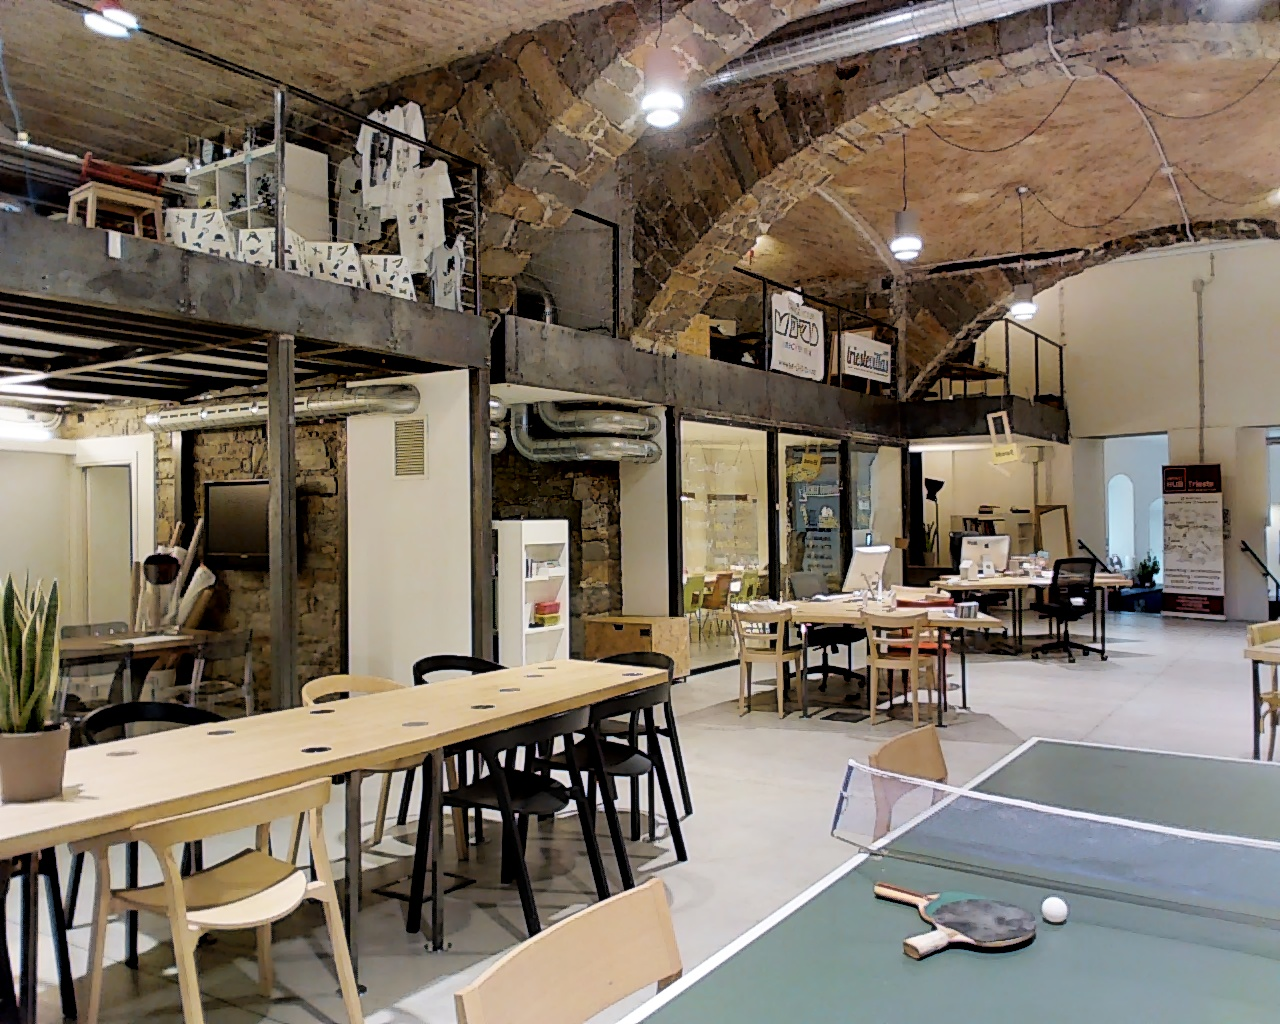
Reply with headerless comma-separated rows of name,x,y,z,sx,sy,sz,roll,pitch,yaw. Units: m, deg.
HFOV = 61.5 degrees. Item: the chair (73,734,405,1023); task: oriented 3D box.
chair,-1.100,1.090,2.980,0.620,0.780,0.610,-1,0,34
